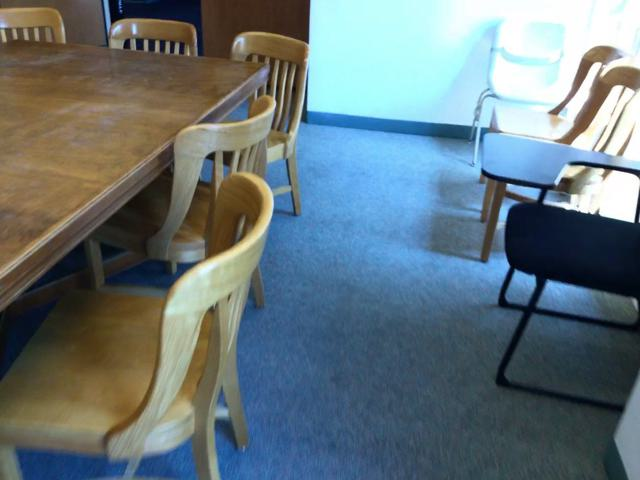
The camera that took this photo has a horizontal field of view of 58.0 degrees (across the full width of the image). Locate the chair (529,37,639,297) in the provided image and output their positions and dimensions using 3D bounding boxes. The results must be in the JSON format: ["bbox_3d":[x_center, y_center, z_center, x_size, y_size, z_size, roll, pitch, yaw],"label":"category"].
[{"bbox_3d":[1.240,-0.290,2.290,0.590,0.860,0.540,8,30,12],"label":"chair"}]

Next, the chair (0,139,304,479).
[{"bbox_3d":[-0.430,0.280,1.340,0.650,0.810,0.570,8,30,12],"label":"chair"}]

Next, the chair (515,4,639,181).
[{"bbox_3d":[1.530,-0.860,3.320,0.620,0.830,0.540,8,30,12],"label":"chair"}]

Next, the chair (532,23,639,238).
[{"bbox_3d":[1.430,-0.520,2.730,0.620,0.850,0.520,8,30,12],"label":"chair"}]

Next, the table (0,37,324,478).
[{"bbox_3d":[-1.060,0.080,1.040,1.340,0.200,3.480,8,30,12],"label":"table"}]
